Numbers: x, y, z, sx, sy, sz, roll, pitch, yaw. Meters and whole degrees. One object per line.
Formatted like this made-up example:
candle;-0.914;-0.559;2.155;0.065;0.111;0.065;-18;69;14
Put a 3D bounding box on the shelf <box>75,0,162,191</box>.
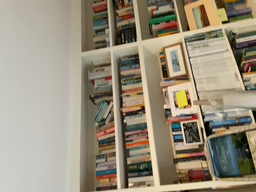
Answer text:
shelf;-0.170;-0.480;2.070;0.310;0.570;4.340;61;-159;-64
